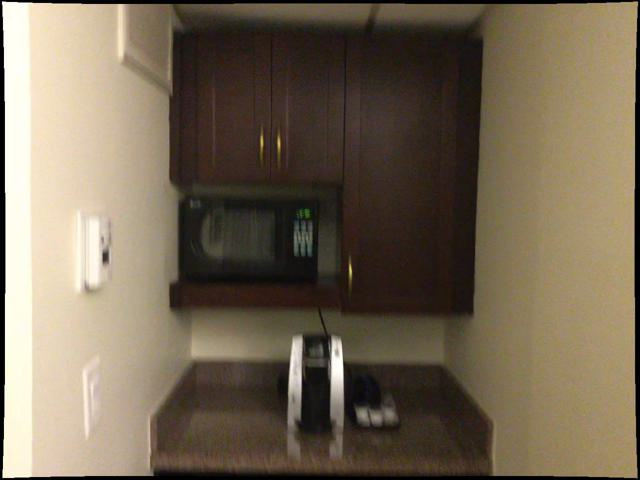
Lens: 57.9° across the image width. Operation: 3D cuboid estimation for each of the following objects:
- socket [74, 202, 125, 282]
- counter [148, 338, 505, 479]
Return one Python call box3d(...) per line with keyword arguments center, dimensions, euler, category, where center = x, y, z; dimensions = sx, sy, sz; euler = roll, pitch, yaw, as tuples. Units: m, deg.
box3d(center=(-0.440, 0.000, 1.160), dimensions=(0.050, 0.150, 0.140), euler=(0, 4, -2), category="socket")
box3d(center=(0.010, 0.521, 1.900), dimensions=(0.969, 0.240, 0.650), euler=(0, 4, -2), category="counter")
